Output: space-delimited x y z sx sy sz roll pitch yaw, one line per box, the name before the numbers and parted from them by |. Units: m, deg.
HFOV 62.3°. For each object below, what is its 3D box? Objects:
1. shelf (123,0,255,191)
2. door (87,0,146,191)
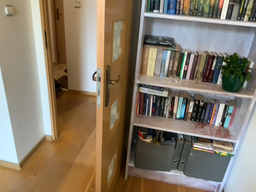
shelf | 0.470 -0.050 1.680 0.850 1.790 0.330 9 26 8
door | -0.060 -0.120 1.490 0.120 2.120 0.840 10 26 10
